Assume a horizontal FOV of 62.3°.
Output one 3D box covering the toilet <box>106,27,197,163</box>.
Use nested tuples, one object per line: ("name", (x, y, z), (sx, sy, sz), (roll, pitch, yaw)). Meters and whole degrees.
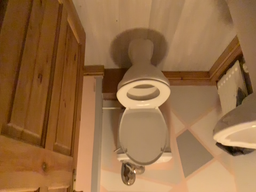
("toilet", (0.120, 0.050, 1.570), (0.470, 0.810, 0.700), (0, 159, 0))
